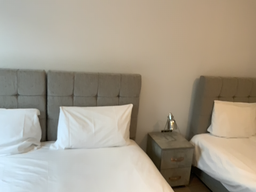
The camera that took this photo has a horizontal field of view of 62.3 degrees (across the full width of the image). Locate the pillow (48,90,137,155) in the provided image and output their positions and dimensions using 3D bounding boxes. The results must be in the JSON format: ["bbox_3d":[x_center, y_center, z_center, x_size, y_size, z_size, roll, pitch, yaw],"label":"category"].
[{"bbox_3d":[-0.340,0.280,2.100,0.750,0.420,0.190,21,5,-26],"label":"pillow"}]
